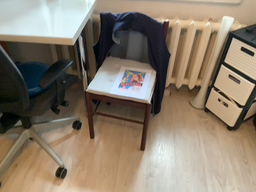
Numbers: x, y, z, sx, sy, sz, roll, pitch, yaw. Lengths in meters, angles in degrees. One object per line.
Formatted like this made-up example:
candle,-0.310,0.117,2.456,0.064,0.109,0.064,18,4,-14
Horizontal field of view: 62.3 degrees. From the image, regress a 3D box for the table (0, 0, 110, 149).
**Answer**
table,-0.560,-0.230,1.560,0.690,0.840,0.770,7,41,5
